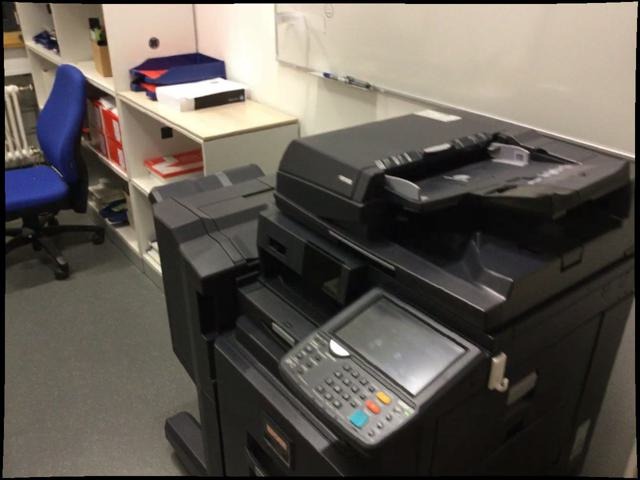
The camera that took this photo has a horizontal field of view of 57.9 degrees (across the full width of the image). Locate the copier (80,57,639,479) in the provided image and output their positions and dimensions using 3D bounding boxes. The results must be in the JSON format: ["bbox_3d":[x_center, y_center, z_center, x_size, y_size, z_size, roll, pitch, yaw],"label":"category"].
[{"bbox_3d":[0.060,0.260,1.490,0.730,1.161,1.120,-21,35,-33],"label":"copier"}]
